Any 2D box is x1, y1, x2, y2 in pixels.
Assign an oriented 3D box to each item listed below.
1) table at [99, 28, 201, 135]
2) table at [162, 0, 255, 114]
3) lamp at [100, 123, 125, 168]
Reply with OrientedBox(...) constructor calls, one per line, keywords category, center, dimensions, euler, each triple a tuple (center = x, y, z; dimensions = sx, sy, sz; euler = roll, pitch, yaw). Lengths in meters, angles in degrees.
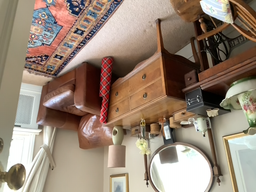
OrientedBox(category="table", center=(0.170, -0.070, 2.370), dimensions=(0.560, 0.780, 0.980), euler=(14, 153, -34))
OrientedBox(category="table", center=(0.790, -0.360, 1.720), dimensions=(0.430, 0.750, 0.920), euler=(14, 153, -34))
OrientedBox(category="lamp", center=(-0.170, 0.560, 2.360), dimensions=(0.190, 0.450, 0.200), euler=(16, 152, -37))
